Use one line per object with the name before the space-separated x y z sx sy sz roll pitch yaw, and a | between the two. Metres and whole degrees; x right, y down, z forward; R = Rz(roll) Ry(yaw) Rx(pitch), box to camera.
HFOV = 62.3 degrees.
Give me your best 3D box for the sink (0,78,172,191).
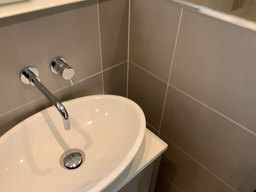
sink | -0.180 0.170 0.710 0.570 0.120 0.350 -29 49 -32
